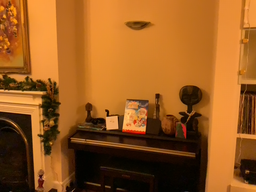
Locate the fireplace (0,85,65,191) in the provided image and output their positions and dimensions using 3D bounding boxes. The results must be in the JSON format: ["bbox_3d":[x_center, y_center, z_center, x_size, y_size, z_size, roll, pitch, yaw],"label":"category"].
[{"bbox_3d":[-1.530,0.520,2.500,1.390,1.230,0.560,3,9,16],"label":"fireplace"}]
